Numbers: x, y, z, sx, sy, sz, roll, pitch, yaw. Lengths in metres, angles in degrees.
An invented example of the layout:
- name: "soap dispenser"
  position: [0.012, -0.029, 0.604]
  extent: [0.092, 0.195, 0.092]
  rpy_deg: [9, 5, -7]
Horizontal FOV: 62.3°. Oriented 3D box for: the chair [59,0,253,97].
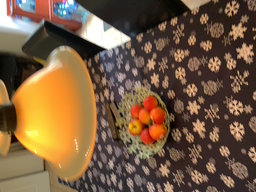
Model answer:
- name: "chair"
  position: [0.240, -0.280, 1.200]
  extent: [0.430, 1.090, 0.500]
  rpy_deg: [-15, 79, 46]
